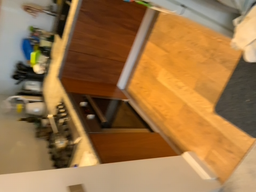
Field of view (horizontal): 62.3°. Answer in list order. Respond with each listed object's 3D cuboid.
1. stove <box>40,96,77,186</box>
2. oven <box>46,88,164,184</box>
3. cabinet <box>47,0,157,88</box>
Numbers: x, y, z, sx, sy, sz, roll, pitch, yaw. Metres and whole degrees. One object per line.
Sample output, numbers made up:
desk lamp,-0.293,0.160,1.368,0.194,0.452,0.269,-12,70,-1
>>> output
stove,-0.640,0.370,1.880,0.600,0.060,0.500,47,122,46
oven,-0.250,0.370,2.140,0.600,0.880,0.600,47,122,46
cabinet,-0.340,-0.710,2.450,0.610,0.840,0.960,47,122,46
